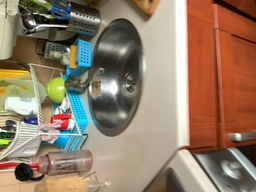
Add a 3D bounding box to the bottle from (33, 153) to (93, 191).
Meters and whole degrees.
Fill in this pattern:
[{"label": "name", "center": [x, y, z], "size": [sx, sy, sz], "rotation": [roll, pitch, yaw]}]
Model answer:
[{"label": "bottle", "center": [-0.270, 0.350, 0.870], "size": [0.140, 0.180, 0.150], "rotation": [-60, 43, 32]}]
